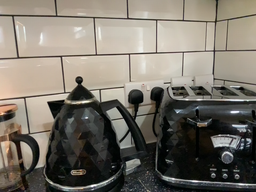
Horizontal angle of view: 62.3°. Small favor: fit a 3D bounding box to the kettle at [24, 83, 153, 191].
[{"bbox_3d":[-0.090,0.100,0.490,0.240,0.220,0.170,-7,13,-23],"label":"kettle"}]
